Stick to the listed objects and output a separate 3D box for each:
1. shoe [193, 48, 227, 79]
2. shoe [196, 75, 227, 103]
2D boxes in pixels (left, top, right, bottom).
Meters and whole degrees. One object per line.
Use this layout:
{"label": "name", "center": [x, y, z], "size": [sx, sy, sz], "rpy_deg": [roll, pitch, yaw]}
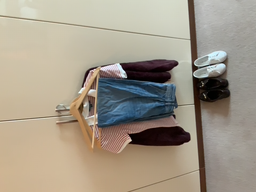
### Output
{"label": "shoe", "center": [0.600, -0.230, 1.560], "size": [0.230, 0.070, 0.190], "rpy_deg": [-2, 91, 59]}
{"label": "shoe", "center": [0.610, -0.050, 1.560], "size": [0.210, 0.070, 0.190], "rpy_deg": [2, 95, 58]}
